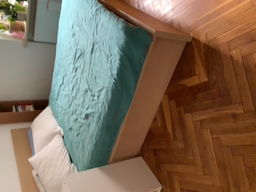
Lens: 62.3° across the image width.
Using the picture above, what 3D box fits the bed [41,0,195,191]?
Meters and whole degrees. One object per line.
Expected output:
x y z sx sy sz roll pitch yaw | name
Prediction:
-0.430 -0.010 2.460 1.610 0.560 2.150 47 128 43 | bed
